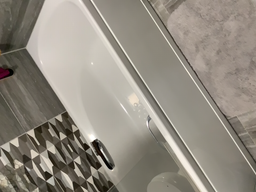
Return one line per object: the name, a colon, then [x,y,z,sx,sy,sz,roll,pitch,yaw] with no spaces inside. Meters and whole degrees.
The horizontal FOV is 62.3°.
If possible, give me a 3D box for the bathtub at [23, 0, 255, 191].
bathtub: [0.100,0.110,1.390,0.680,0.560,1.630,-34,89,46]
